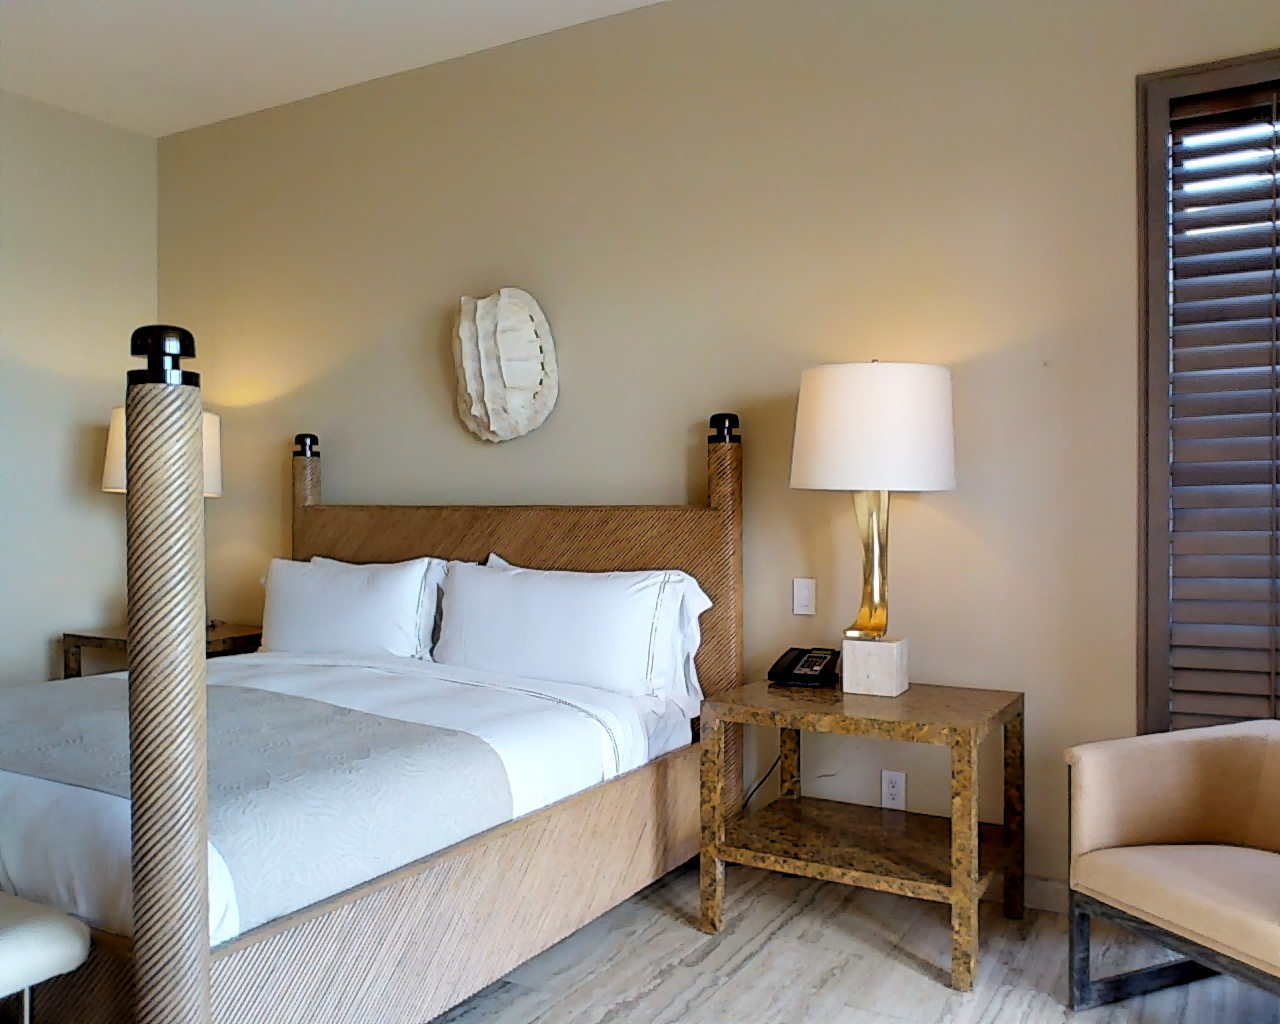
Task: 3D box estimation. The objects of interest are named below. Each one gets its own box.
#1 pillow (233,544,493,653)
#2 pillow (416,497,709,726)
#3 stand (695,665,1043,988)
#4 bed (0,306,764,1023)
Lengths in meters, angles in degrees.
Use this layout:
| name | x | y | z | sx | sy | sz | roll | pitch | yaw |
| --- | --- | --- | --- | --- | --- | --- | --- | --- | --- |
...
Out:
| name | x | y | z | sx | sy | sz | roll | pitch | yaw |
| --- | --- | --- | --- | --- | --- | --- | --- | --- | --- |
| pillow | -1.100 | 0.320 | 4.250 | 0.980 | 0.350 | 0.420 | 0 | 1 | 31 |
| pillow | -0.290 | 0.310 | 3.670 | 1.000 | 0.390 | 0.200 | 24 | 13 | 28 |
| stand | 0.690 | 0.850 | 3.170 | 0.820 | 0.640 | 0.700 | 0 | 1 | 31 |
| bed | -1.140 | 0.410 | 3.330 | 2.270 | 1.540 | 2.330 | 0 | 1 | 31 |
